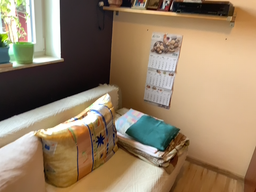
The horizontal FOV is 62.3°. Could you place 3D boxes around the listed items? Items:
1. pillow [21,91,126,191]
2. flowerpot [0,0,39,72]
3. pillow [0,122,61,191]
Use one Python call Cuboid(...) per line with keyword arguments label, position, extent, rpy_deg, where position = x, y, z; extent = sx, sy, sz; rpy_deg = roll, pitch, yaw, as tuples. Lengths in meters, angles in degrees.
Cuboid(label="pillow", position=(-0.350, 0.270, 1.580), extent=(0.340, 0.370, 0.710), rpy_deg=(16, 23, 24))
Cuboid(label="flowerpot", position=(-0.900, -0.580, 1.550), extent=(0.310, 0.720, 0.290), rpy_deg=(16, 23, 23))
Cuboid(label="pillow", position=(-0.680, 0.460, 1.000), extent=(0.330, 0.380, 0.650), rpy_deg=(16, 23, 23))
